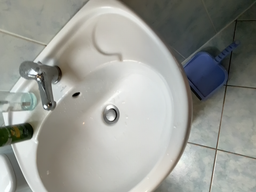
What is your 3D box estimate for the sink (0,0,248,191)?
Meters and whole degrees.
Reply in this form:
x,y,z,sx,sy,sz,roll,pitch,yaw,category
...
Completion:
x,y,z,sx,sy,sz,roll,pitch,yaw,category
-0.080,0.070,0.590,0.560,0.170,0.450,-40,70,21,sink
